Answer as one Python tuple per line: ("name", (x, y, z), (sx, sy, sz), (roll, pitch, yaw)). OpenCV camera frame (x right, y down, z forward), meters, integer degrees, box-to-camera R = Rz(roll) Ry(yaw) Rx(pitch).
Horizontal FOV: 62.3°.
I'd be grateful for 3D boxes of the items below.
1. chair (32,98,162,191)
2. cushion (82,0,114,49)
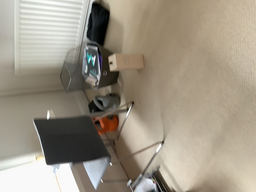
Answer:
("chair", (-0.260, 0.400, 1.700), (0.420, 0.850, 0.530), (51, 135, 37))
("cushion", (-0.320, -0.820, 2.210), (0.240, 0.130, 0.600), (52, 135, 36))
